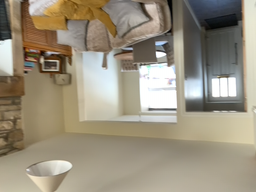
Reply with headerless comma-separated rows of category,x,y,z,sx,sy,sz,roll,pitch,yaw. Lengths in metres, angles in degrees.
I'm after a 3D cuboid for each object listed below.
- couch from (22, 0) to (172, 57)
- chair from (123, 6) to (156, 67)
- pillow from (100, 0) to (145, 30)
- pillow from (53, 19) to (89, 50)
couch,-0.470,-1.130,2.820,1.760,0.910,1.040,-1,-177,40
chair,0.210,-1.160,4.300,0.520,1.040,0.680,-3,-178,-4
pillow,-0.070,-0.970,2.550,0.530,0.290,0.150,11,-149,37
pillow,-0.860,-0.920,3.200,0.460,0.400,0.180,6,-156,33
